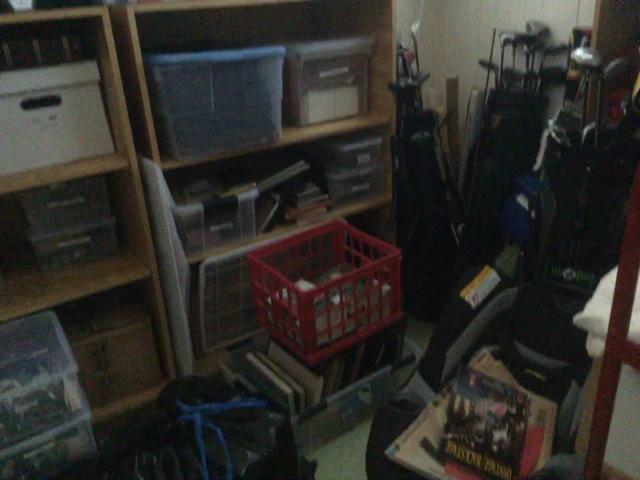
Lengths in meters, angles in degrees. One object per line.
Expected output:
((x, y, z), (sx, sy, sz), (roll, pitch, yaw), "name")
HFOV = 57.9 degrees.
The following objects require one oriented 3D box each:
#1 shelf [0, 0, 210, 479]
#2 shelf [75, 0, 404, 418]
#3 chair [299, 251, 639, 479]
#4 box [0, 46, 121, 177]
((-0.970, 0.060, 1.590), (0.950, 1.300, 0.700), (-19, 29, -30), "shelf")
((-0.220, -0.200, 2.110), (0.890, 1.300, 0.550), (-19, 29, -30), "shelf")
((0.430, 0.440, 1.390), (0.710, 0.470, 0.620), (-19, 29, -30), "chair")
((-0.800, -0.380, 1.620), (0.310, 0.260, 0.410), (-19, 29, -30), "box")
